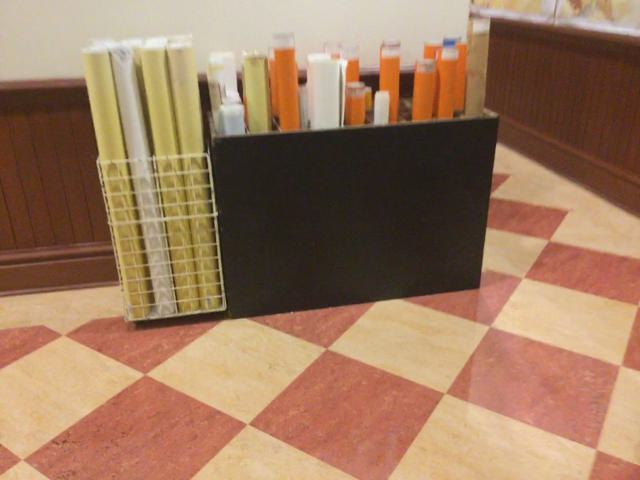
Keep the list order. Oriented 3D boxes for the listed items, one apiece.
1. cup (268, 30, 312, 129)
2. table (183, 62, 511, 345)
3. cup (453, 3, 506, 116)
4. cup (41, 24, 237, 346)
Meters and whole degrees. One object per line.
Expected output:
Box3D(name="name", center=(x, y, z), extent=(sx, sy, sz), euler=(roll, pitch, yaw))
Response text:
Box3D(name="cup", center=(-0.110, -0.600, 2.160), extent=(0.120, 0.340, 0.090), euler=(-10, 23, -13))
Box3D(name="table", center=(0.110, -0.210, 2.530), extent=(1.220, 0.940, 0.560), euler=(-10, 23, -13))
Box3D(name="cup", center=(0.620, -0.710, 2.270), extent=(0.110, 0.400, 0.180), euler=(-10, 23, -13))
Box3D(name="cup", center=(-0.680, -0.230, 2.320), extent=(0.490, 1.150, 0.440), euler=(-10, 23, -13))
